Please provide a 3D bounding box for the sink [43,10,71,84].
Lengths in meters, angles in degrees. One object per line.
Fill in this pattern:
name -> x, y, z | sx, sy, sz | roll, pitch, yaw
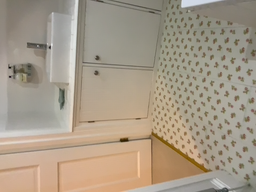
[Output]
sink -> -0.600, -0.400, 1.740 | 0.450, 0.130, 0.520 | 29, 115, 59
